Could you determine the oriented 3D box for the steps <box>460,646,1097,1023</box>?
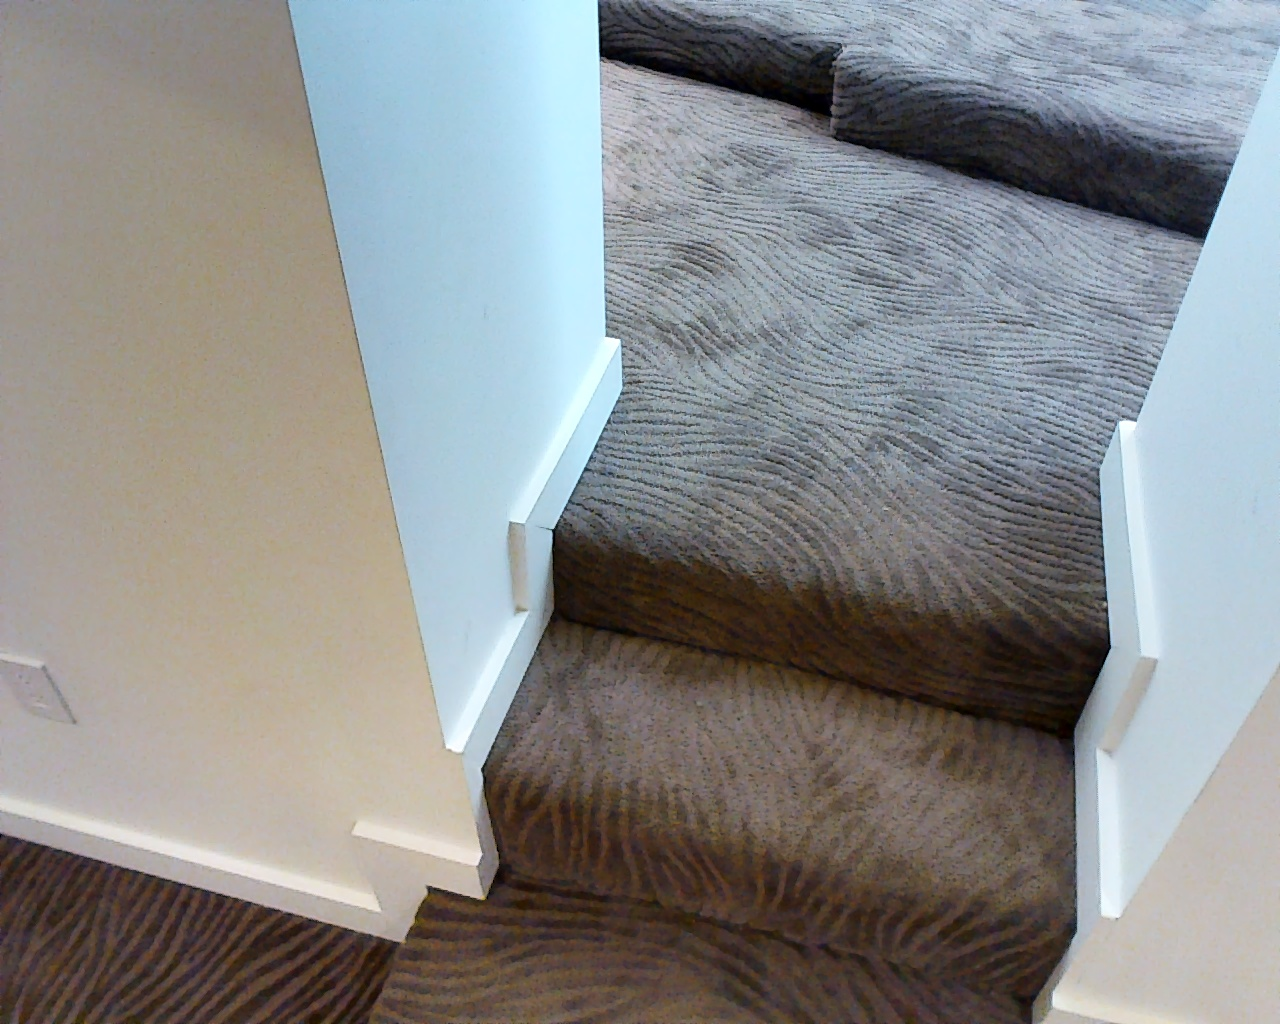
[{"bbox_3d":[0.170,0.490,1.450,0.720,0.430,0.270,10,44,11],"label":"steps"}]
